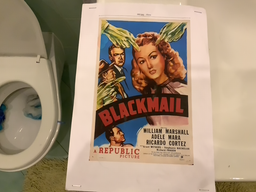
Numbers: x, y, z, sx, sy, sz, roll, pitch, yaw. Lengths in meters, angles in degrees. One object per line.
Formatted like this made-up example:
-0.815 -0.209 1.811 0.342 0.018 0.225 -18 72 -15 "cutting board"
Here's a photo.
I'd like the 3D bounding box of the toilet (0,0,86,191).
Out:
-0.440 0.000 0.830 0.340 0.820 0.560 0 79 2 "toilet"
